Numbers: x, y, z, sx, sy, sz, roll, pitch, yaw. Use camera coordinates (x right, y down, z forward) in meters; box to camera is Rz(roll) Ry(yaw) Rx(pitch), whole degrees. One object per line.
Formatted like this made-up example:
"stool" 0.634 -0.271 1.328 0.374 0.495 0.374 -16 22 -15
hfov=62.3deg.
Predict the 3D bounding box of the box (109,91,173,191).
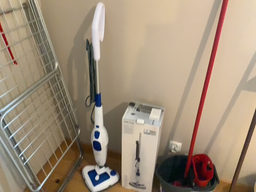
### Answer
"box" 0.080 0.330 1.470 0.330 0.630 0.260 12 35 15

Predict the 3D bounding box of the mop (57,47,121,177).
"mop" -0.230 0.150 1.440 0.310 0.890 0.180 13 35 17

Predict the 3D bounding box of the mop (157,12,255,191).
"mop" 0.410 0.190 1.170 0.340 1.160 0.240 14 35 17
